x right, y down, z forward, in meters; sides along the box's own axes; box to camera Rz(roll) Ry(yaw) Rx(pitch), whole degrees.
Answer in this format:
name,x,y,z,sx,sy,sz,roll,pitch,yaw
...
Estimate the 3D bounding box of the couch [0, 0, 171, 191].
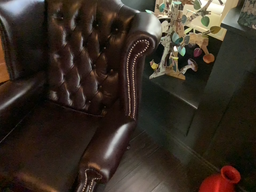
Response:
name,x,y,z,sx,sy,sz,roll,pitch,yaw
couch,-0.350,0.090,1.180,0.800,0.980,0.840,18,43,14
